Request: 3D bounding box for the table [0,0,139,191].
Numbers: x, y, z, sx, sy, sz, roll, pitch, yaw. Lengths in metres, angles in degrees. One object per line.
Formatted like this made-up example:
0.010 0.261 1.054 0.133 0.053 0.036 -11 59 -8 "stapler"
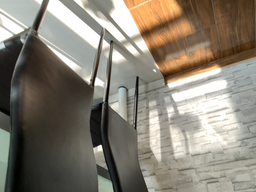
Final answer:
-0.530 0.040 1.110 0.730 0.730 1.100 -18 141 20 "table"
